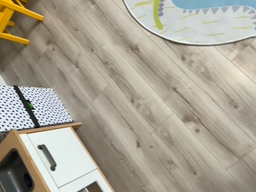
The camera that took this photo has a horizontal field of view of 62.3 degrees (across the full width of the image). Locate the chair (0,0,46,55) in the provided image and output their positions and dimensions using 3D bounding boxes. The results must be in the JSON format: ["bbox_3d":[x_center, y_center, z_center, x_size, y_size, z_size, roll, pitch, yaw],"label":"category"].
[{"bbox_3d":[-0.950,-0.580,1.540,0.350,0.470,0.320,-48,71,18],"label":"chair"}]

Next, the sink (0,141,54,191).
[{"bbox_3d":[-0.550,0.410,1.080,0.220,0.130,0.250,-44,72,19],"label":"sink"}]
